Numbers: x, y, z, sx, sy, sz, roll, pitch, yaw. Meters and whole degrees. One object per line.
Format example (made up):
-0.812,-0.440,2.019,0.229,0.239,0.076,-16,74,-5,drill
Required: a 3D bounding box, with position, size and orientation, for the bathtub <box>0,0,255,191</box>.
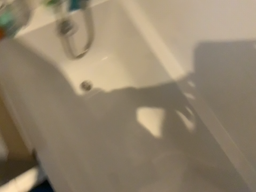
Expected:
-0.010,0.240,1.120,0.780,0.570,1.390,-28,79,-16,bathtub
